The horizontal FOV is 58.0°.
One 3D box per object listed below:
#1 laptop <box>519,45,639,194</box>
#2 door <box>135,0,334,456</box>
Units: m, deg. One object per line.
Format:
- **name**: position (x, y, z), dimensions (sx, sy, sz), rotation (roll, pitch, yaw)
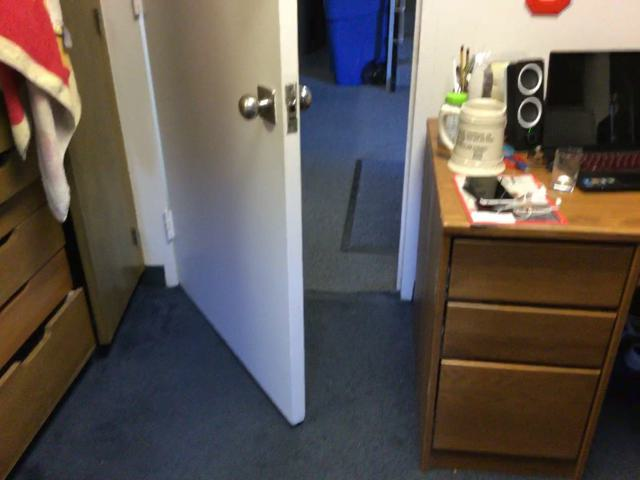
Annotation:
- **laptop**: position (0.860, -0.320, 1.460), dimensions (0.570, 0.260, 0.440), rotation (2, 28, 5)
- **door**: position (-0.280, -0.530, 1.510), dimensions (0.110, 2.120, 0.950), rotation (-17, 32, -28)
